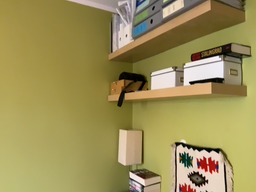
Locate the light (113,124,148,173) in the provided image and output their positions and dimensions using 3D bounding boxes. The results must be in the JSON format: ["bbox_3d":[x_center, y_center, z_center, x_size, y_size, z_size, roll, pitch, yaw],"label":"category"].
[{"bbox_3d":[0.020,0.440,1.850,0.200,0.370,0.240,3,-4,-31],"label":"light"}]
